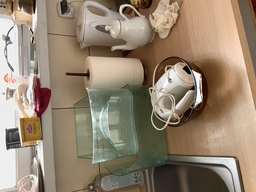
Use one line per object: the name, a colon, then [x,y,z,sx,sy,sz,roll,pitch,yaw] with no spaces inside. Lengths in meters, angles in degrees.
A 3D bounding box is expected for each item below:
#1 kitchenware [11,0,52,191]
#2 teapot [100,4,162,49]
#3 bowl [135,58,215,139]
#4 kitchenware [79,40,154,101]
kitchenware: [-0.470,0.060,1.000,0.400,0.120,0.870,-29,65,60]
teapot: [0.010,-0.270,0.850,0.120,0.200,0.100,-36,59,58]
bowl: [0.140,0.020,0.710,0.220,0.110,0.210,-32,63,59]
kitchenware: [-0.060,-0.100,0.950,0.210,0.250,0.190,-30,64,59]
